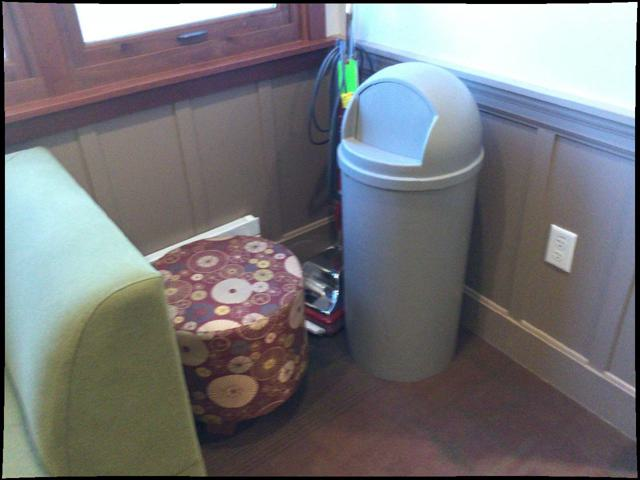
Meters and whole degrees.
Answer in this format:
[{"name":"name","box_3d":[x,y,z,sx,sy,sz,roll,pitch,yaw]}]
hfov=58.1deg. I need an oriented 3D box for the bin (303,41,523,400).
[{"name":"bin","box_3d":[0.259,-0.050,1.710,0.419,0.912,0.360,-25,38,-29]}]
